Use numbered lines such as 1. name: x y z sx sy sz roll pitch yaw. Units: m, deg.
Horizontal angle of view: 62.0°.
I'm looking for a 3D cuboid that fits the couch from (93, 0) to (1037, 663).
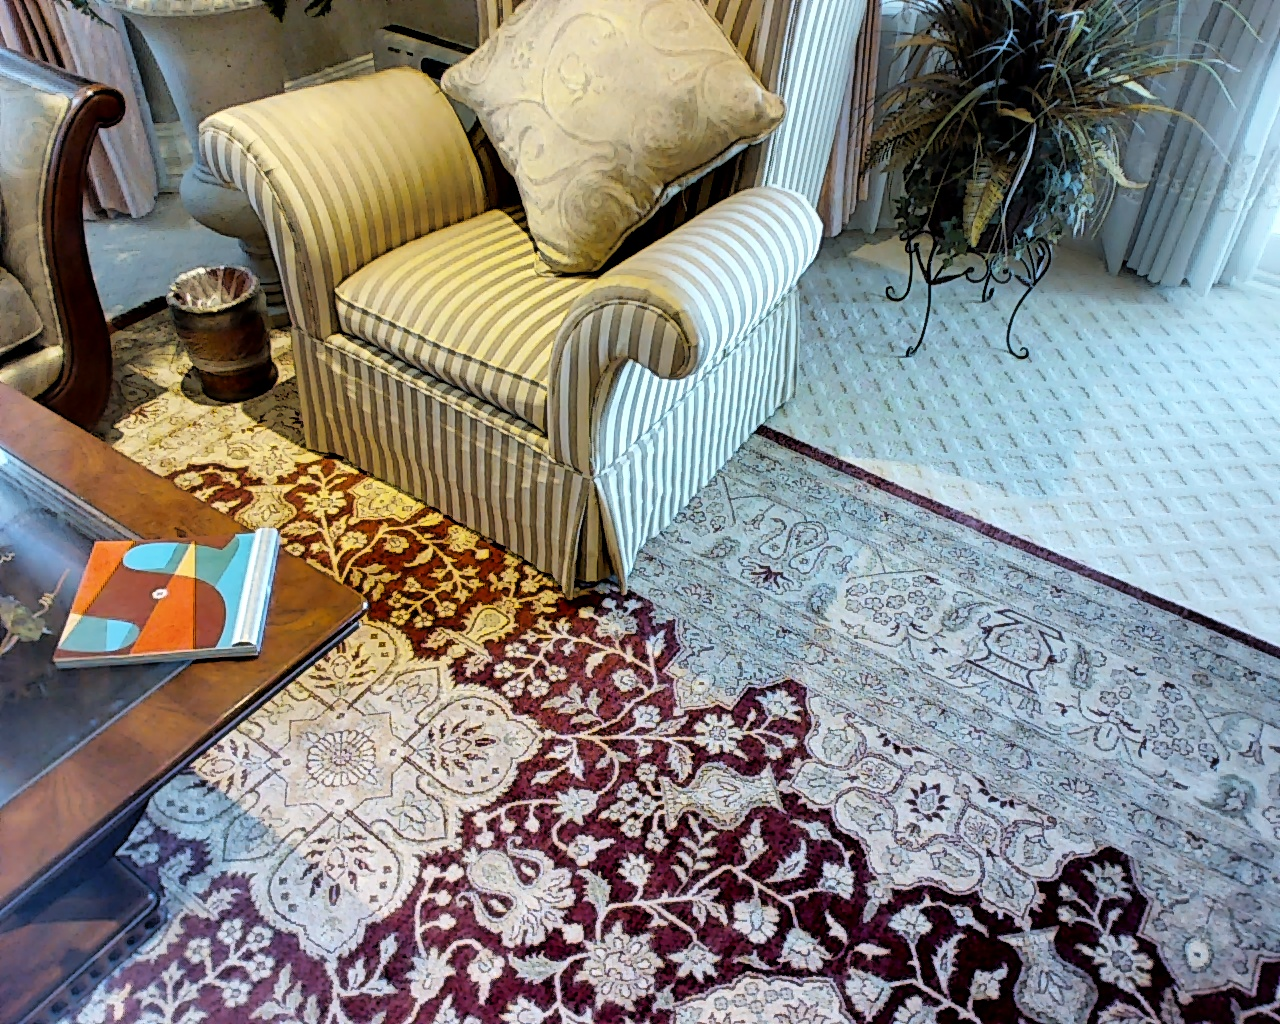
1. couch: -0.090 -0.760 2.090 1.210 1.220 1.220 27 48 26
